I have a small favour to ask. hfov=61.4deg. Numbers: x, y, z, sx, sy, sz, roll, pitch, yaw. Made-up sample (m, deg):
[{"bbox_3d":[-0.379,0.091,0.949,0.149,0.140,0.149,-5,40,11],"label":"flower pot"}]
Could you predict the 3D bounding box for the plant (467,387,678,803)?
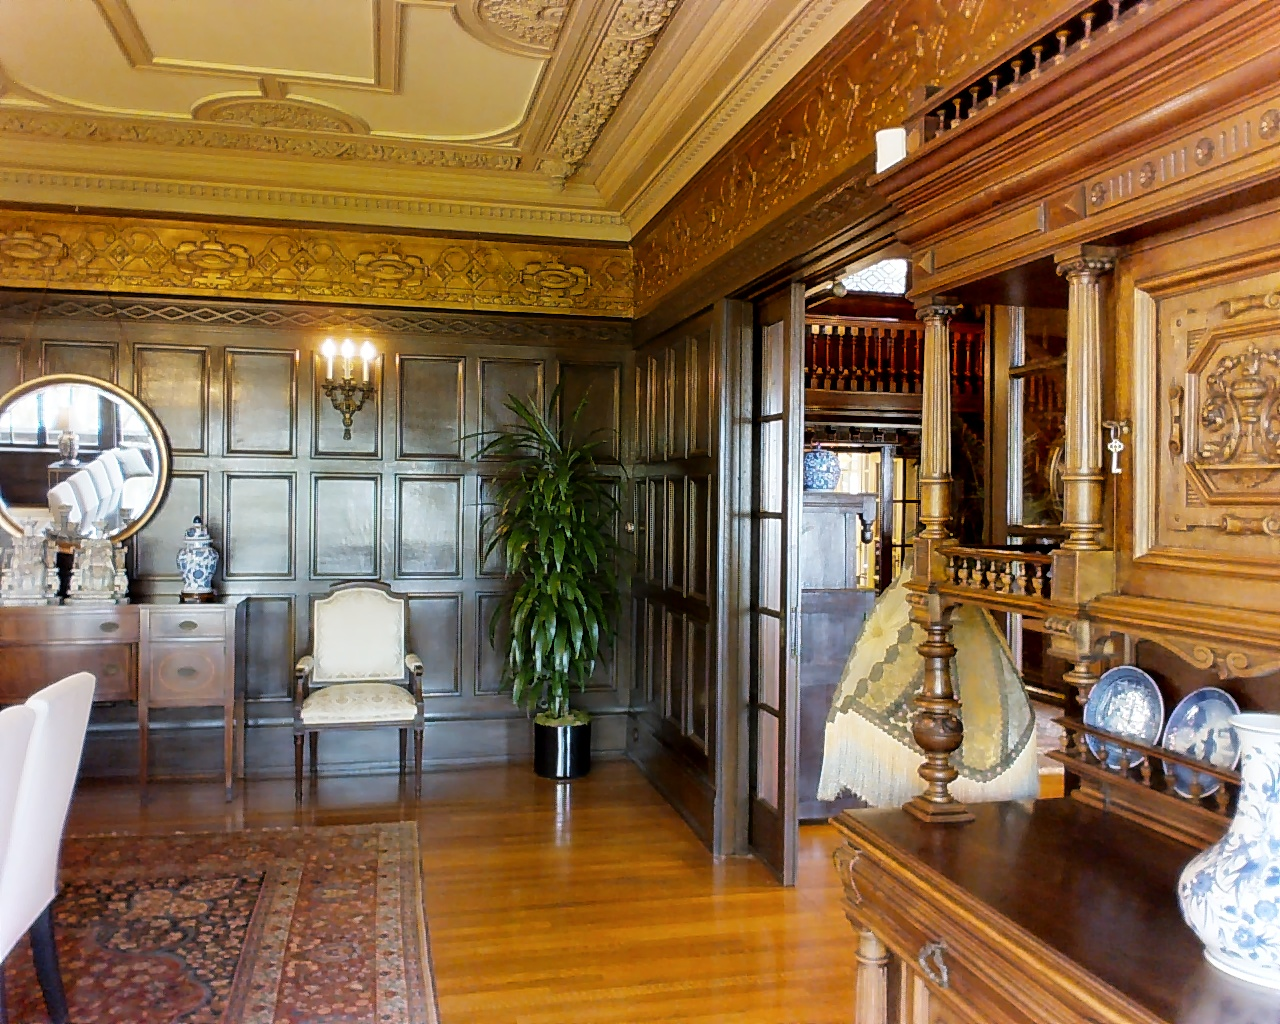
[{"bbox_3d":[-0.410,0.420,5.980,0.990,2.090,0.940,1,1,-13],"label":"plant"}]
